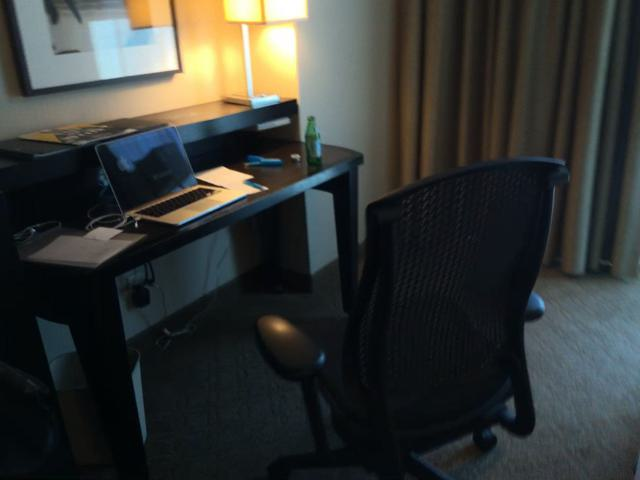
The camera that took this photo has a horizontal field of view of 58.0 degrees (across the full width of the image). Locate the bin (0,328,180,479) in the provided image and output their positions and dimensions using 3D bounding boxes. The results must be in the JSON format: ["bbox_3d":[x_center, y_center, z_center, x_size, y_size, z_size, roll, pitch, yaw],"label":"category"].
[{"bbox_3d":[-0.720,0.530,1.830,0.380,0.300,0.330,12,26,33],"label":"bin"}]

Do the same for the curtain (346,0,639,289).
[{"bbox_3d":[0.750,-0.870,2.640,1.260,2.010,0.320,11,26,31],"label":"curtain"}]
